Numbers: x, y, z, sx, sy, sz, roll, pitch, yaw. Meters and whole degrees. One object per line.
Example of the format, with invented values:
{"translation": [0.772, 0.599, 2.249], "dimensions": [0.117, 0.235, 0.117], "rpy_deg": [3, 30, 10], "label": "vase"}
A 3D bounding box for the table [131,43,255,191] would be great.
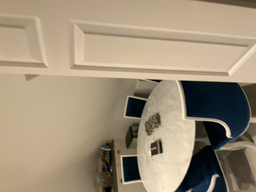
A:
{"translation": [0.640, 0.470, 2.450], "dimensions": [1.720, 0.750, 1.170], "rpy_deg": [113, 155, -57], "label": "table"}

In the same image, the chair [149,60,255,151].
{"translation": [0.730, 0.110, 1.730], "dimensions": [0.580, 0.920, 0.460], "rpy_deg": [111, 157, -54], "label": "chair"}

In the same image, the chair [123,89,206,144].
{"translation": [0.450, 0.280, 2.930], "dimensions": [0.580, 0.920, 0.450], "rpy_deg": [-104, 20, -50], "label": "chair"}

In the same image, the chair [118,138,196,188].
{"translation": [0.380, 0.980, 3.110], "dimensions": [0.510, 0.930, 0.530], "rpy_deg": [110, 158, -53], "label": "chair"}
